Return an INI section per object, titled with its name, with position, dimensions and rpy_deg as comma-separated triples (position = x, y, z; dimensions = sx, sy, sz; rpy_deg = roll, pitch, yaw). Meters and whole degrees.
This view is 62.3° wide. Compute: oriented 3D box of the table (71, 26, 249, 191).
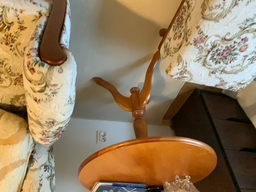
[table]
position = 0.060, 0.120, 1.140
dimensions = 0.600, 0.630, 0.600
rpy_deg = 8, 137, -15

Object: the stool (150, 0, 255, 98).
[stool]
position = 0.400, -0.290, 0.930
dimensions = 0.420, 0.350, 0.420
rpy_deg = 10, 136, -17
